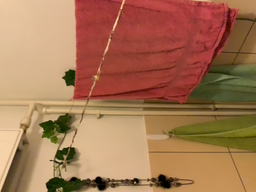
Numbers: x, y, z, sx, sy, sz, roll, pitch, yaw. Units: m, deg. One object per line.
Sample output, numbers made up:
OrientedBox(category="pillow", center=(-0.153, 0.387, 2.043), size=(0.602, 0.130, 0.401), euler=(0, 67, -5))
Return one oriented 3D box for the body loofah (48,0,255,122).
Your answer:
OrientedBox(category="body loofah", center=(0.050, -0.140, 0.740), size=(0.140, 0.540, 0.540), euler=(-94, 7, -46))
